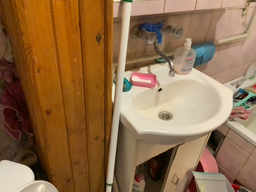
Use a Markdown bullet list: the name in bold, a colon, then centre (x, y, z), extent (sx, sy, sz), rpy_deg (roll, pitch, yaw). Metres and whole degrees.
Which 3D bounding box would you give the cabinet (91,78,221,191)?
- **cabinet**: centre (0.100, 0.340, 1.150), extent (0.490, 0.720, 0.320), rpy_deg (-17, 41, -29)
